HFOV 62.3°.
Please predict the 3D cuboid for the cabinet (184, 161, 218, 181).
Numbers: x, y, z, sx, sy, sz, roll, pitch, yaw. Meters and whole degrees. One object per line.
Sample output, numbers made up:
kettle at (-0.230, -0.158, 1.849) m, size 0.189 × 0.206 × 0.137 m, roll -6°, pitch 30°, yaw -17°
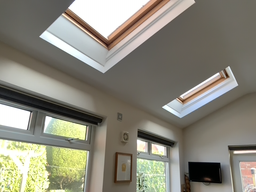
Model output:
cabinet at (1.360, 1.400, 3.970) m, size 0.540 × 0.330 × 0.220 m, roll -10°, pitch -23°, yaw 31°
